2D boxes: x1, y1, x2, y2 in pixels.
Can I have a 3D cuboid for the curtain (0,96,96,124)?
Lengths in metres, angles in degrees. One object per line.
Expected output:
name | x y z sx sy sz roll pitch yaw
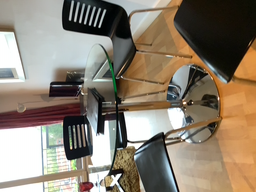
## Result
curtain | -1.750 0.280 4.390 0.320 2.080 0.420 142 123 -63
